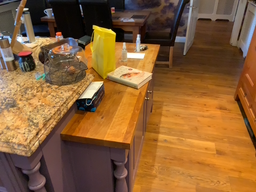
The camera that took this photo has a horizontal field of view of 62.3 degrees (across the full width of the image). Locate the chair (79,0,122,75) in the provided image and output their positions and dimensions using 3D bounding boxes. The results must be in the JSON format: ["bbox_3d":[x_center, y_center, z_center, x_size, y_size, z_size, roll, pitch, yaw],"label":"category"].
[{"bbox_3d":[-0.380,-0.980,3.300,0.430,1.090,0.640,6,32,10],"label":"chair"}]

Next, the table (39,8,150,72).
[{"bbox_3d":[-0.490,-1.010,3.650,1.580,0.760,0.880,6,32,10],"label":"table"}]
